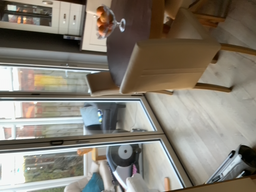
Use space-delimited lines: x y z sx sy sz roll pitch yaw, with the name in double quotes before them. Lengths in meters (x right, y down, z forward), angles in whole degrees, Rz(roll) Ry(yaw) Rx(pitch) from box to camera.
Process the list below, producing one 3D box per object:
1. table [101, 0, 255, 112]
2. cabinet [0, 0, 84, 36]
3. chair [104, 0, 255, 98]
"table" 0.310 -0.640 2.120 1.090 0.770 1.130 -116 34 -46
"cabinet" -1.360 -1.280 3.160 0.350 1.280 0.520 -115 33 -45
"chair" 0.390 -0.340 1.620 0.450 0.990 0.540 113 148 -43
